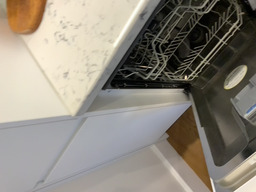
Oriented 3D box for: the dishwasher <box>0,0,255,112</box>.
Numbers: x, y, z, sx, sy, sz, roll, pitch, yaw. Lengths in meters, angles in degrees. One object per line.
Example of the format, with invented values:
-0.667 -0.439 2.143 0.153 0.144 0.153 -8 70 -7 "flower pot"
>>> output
0.100 -0.350 0.840 0.590 0.920 0.460 49 118 25 "dishwasher"
